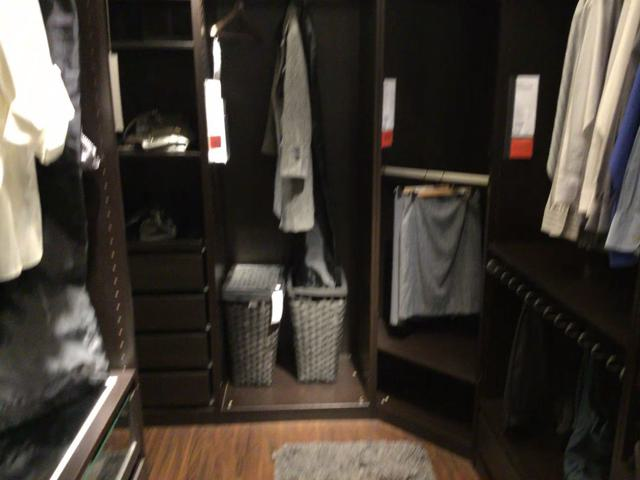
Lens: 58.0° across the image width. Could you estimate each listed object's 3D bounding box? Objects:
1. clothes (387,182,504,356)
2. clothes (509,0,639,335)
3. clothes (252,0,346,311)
[{"bbox_3d":[0.540,0.110,2.620,0.420,0.690,0.440,0,13,2],"label":"clothes"},{"bbox_3d":[0.800,-0.330,1.540,0.300,0.980,0.630,-1,13,-2],"label":"clothes"},{"bbox_3d":[-0.090,-0.380,2.680,0.380,1.340,0.430,-1,13,-2],"label":"clothes"}]
